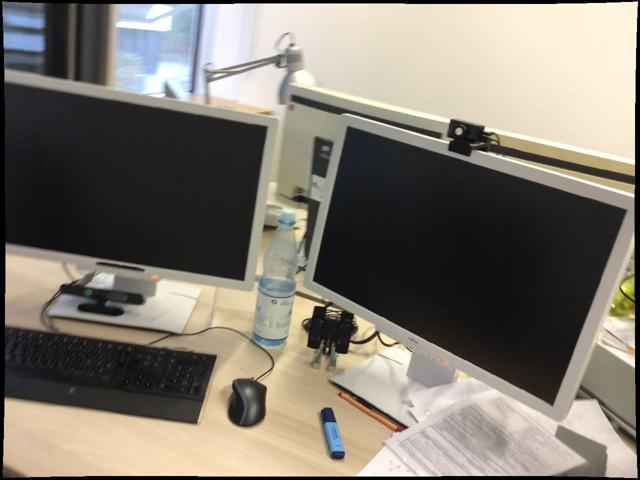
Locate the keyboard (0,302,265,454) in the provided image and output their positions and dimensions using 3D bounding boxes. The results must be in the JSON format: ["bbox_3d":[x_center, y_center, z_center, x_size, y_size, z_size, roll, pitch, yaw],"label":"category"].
[{"bbox_3d":[-0.400,0.240,1.080,0.549,0.030,0.260,10,22,4],"label":"keyboard"}]
